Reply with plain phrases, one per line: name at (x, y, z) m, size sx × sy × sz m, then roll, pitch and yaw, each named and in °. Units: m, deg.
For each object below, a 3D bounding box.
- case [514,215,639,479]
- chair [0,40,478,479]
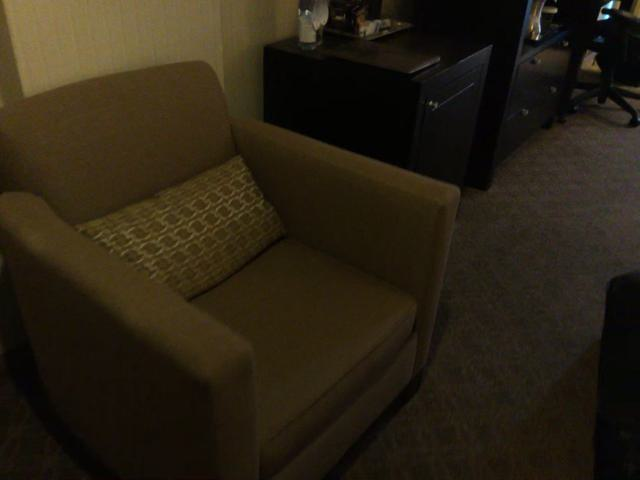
case at (0.980, 0.370, 1.500) m, size 0.600 × 0.420 × 0.770 m, roll 23°, pitch 40°, yaw 29°
chair at (-0.250, 0.110, 1.430) m, size 0.840 × 0.870 × 0.850 m, roll 23°, pitch 40°, yaw 30°
